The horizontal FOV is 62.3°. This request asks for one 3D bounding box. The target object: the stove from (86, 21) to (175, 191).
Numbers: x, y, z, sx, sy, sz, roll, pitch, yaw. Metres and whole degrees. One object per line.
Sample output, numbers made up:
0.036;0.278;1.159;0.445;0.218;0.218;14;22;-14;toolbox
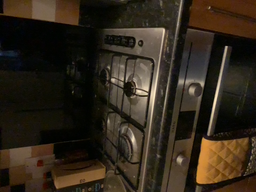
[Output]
-0.050;0.010;0.890;0.570;0.040;0.580;26;114;57;stove
